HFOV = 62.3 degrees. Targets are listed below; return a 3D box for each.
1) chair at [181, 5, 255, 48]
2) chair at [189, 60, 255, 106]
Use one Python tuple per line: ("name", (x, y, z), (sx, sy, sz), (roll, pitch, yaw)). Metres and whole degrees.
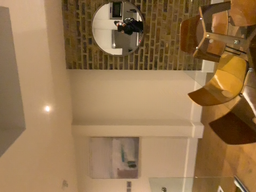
("chair", (1.040, -0.740, 2.320), (0.470, 0.770, 0.390), (-95, 6, -74))
("chair", (1.050, -0.140, 2.090), (0.390, 0.750, 0.370), (-95, 6, -73))
